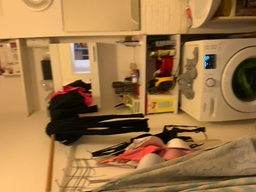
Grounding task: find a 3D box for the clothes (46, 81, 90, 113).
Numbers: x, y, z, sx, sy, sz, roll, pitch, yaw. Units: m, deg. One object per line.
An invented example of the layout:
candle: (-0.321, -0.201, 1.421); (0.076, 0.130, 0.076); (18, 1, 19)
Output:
clothes: (-0.530, 0.000, 1.950); (0.330, 0.340, 0.220); (-127, 35, -77)
